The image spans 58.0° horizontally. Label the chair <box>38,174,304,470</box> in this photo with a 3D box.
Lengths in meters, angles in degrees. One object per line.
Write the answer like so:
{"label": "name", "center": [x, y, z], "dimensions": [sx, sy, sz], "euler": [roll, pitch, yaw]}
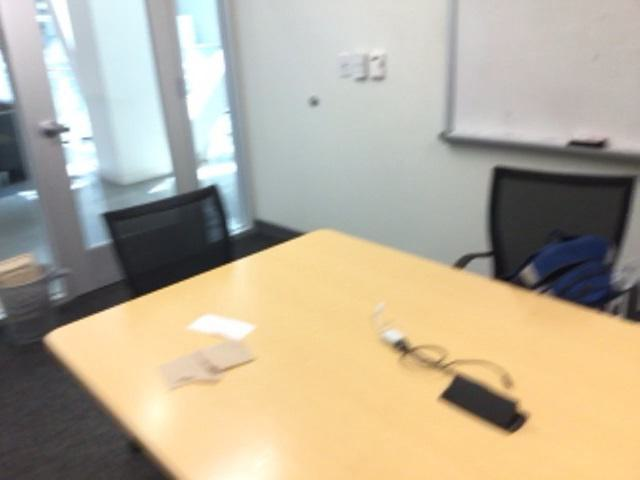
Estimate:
{"label": "chair", "center": [-0.470, 0.220, 1.950], "dimensions": [0.610, 0.680, 0.500], "euler": [-22, 29, -37]}
